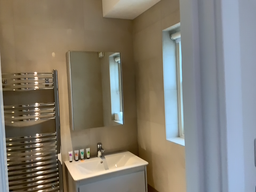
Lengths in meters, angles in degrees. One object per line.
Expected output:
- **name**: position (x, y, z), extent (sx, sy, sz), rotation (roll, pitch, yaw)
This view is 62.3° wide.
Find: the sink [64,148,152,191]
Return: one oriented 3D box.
- **sink**: position (-0.190, 0.670, 1.910), extent (0.670, 0.180, 0.450), rotation (-4, 2, -26)
